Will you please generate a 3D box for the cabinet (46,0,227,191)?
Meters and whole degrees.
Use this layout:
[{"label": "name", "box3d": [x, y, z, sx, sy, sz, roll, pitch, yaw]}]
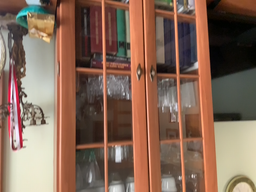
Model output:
[{"label": "cabinet", "box3d": [0.010, -0.310, 1.120, 0.790, 1.980, 0.420, 1, 174, -22]}]
